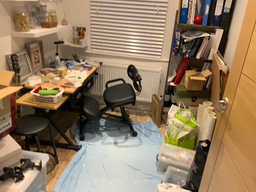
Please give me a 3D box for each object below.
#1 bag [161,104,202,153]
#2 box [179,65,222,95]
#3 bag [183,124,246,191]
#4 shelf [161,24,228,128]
[{"bbox_3d":[0.570,0.350,2.350,0.310,0.340,0.420,4,24,0],"label":"bag"},{"bbox_3d":[0.780,-0.180,2.330,0.330,0.220,0.320,3,24,-2],"label":"box"},{"bbox_3d":[0.590,0.460,1.530,0.280,0.370,0.330,6,25,5],"label":"bag"},{"bbox_3d":[0.770,-0.230,2.640,0.560,1.210,0.280,8,25,9],"label":"shelf"}]
